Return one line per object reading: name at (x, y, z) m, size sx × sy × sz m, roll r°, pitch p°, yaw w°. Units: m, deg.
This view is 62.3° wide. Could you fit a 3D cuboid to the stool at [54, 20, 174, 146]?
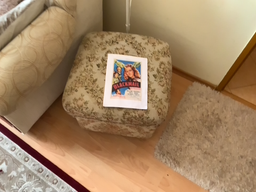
stool at (-0.040, -0.060, 1.260) m, size 0.530 × 0.440 × 0.540 m, roll 7°, pitch 61°, yaw 2°
